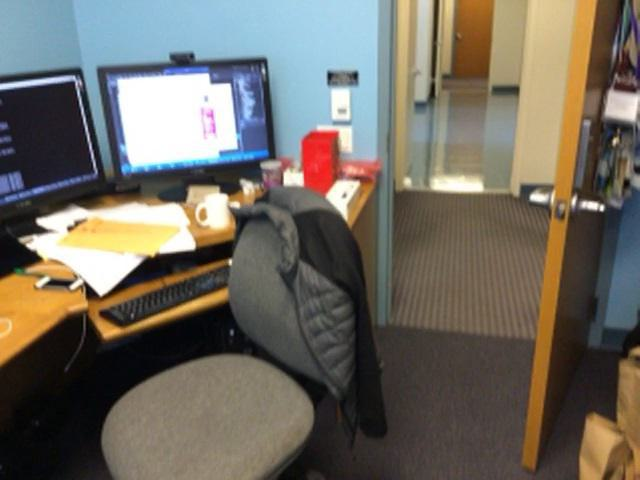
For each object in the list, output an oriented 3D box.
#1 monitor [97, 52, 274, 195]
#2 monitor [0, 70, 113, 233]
[{"bbox_3d":[-0.500,-0.460,2.230,0.600,0.480,0.150,-9,21,-19],"label":"monitor"},{"bbox_3d":[-1.010,-0.290,1.890,0.130,0.470,0.610,12,24,33],"label":"monitor"}]
